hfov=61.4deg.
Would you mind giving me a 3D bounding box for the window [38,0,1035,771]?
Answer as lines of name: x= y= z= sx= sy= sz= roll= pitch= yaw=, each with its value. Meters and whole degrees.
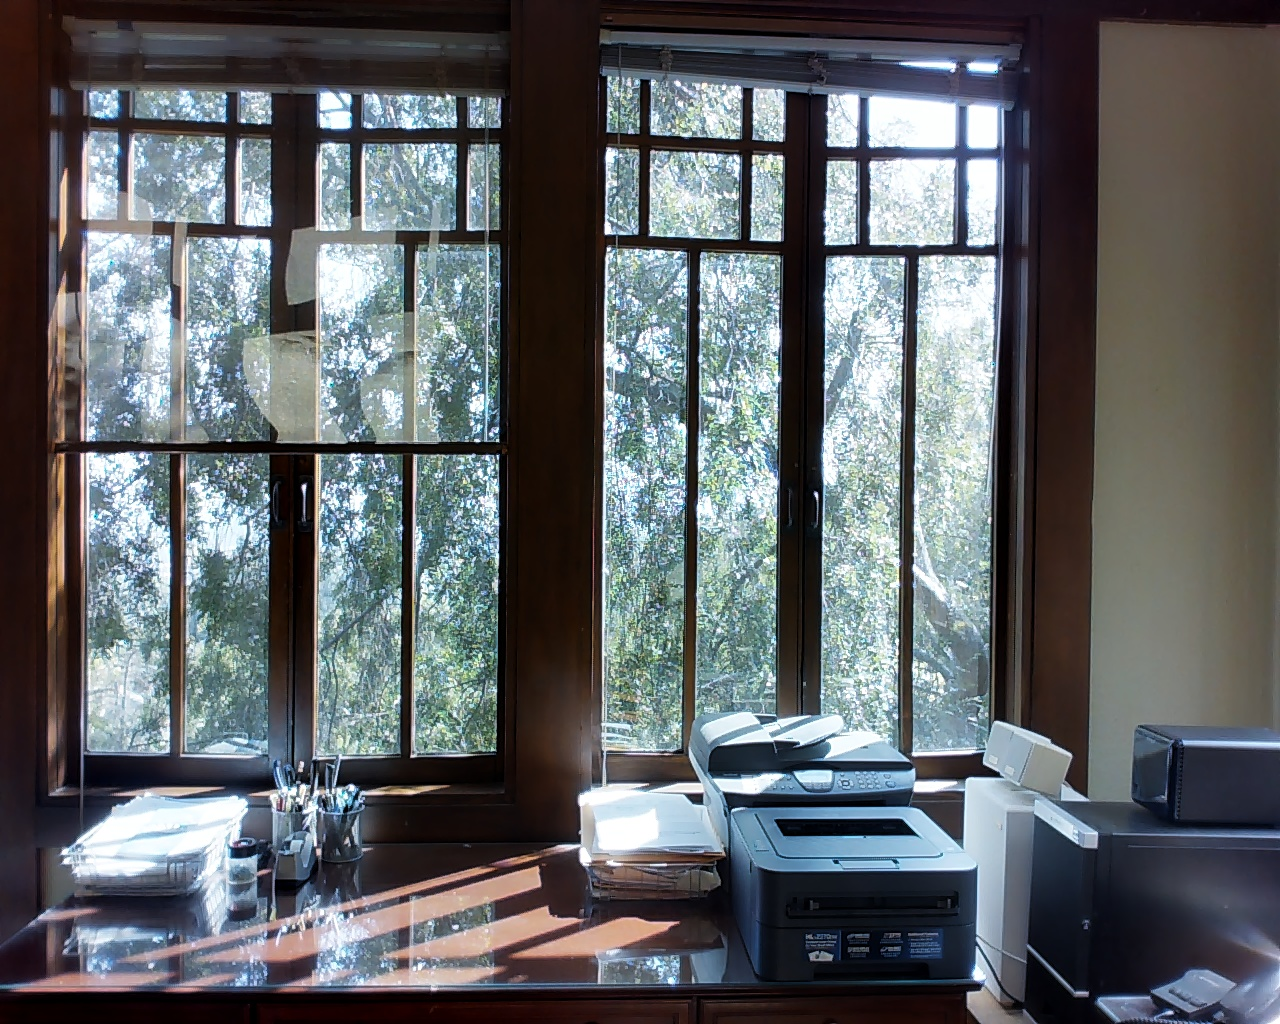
window: x=-0.210 y=-0.270 z=2.470 sx=2.180 sy=1.690 sz=0.160 roll=1 pitch=1 yaw=-3
